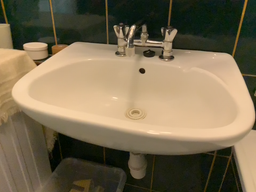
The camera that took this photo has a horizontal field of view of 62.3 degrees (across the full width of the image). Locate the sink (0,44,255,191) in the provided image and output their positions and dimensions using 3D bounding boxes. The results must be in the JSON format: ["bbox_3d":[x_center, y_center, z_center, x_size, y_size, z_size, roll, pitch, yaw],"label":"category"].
[{"bbox_3d":[0.000,0.030,0.590,0.590,0.200,0.410,8,29,11],"label":"sink"}]
